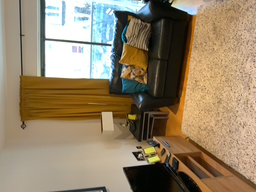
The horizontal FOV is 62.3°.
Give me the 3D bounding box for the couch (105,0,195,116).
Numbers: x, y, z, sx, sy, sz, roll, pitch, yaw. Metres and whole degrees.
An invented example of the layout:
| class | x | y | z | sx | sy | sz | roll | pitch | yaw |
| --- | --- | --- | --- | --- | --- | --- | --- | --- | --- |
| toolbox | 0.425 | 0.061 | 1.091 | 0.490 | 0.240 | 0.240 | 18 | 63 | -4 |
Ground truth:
| class | x | y | z | sx | sy | sz | roll | pitch | yaw |
| --- | --- | --- | --- | --- | --- | --- | --- | --- | --- |
| couch | 0.240 | -0.570 | 3.290 | 0.990 | 0.900 | 1.480 | -140 | 53 | -67 |
